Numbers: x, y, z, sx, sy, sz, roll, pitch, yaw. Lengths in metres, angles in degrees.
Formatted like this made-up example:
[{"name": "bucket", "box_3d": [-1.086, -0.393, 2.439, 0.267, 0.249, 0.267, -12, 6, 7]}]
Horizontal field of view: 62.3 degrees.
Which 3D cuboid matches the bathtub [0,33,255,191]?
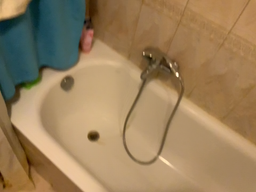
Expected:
[{"name": "bathtub", "box_3d": [0.160, 0.400, 1.140, 1.550, 0.540, 0.690, 35, 53, 14]}]
